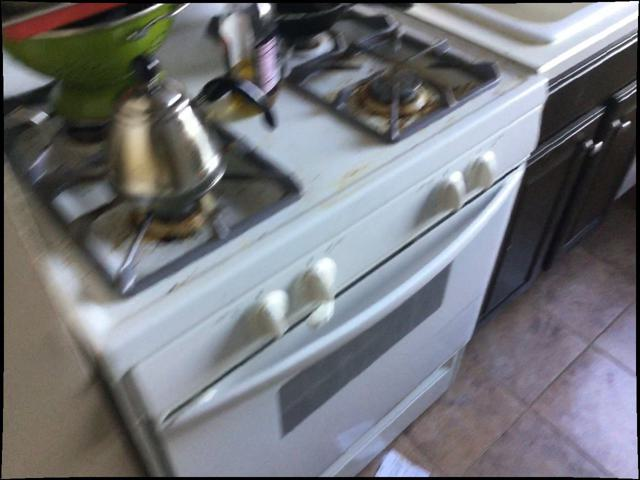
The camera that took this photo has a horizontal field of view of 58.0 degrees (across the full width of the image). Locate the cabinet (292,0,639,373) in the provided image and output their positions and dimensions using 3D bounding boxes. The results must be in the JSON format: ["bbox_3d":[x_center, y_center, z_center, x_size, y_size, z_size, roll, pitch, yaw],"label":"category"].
[{"bbox_3d":[0.439,-0.291,1.560,0.719,0.841,0.650,-34,52,-26],"label":"cabinet"}]
